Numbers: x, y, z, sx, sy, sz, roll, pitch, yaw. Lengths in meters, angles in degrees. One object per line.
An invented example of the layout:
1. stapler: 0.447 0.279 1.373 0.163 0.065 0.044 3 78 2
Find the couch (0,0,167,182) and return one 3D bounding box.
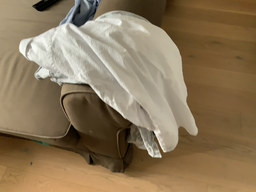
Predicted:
1. couch: -0.360 -0.120 0.930 0.920 0.670 0.650 11 61 7
